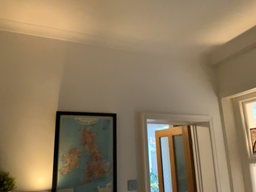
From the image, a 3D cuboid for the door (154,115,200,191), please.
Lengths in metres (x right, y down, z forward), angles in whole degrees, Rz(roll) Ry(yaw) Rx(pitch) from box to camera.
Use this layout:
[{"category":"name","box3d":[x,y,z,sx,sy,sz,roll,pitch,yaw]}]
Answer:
[{"category":"door","box3d":[0.670,1.340,2.860,0.180,2.070,0.670,5,-16,-25]}]
